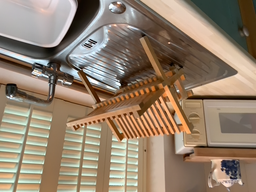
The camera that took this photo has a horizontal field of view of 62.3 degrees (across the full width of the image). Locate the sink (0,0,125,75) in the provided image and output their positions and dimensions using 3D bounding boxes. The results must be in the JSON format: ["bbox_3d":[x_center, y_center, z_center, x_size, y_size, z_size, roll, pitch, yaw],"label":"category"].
[{"bbox_3d":[-0.330,-0.280,0.580,0.440,0.170,0.480,19,154,-38],"label":"sink"}]
